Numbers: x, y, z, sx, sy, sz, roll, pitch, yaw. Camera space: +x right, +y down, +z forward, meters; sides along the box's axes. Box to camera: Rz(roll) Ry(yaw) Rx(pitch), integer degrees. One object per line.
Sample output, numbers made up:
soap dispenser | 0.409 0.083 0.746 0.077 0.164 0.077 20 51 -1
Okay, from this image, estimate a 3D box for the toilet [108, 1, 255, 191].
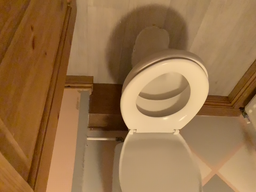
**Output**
toilet | 0.160 0.110 0.990 0.440 0.800 0.690 2 140 -10
